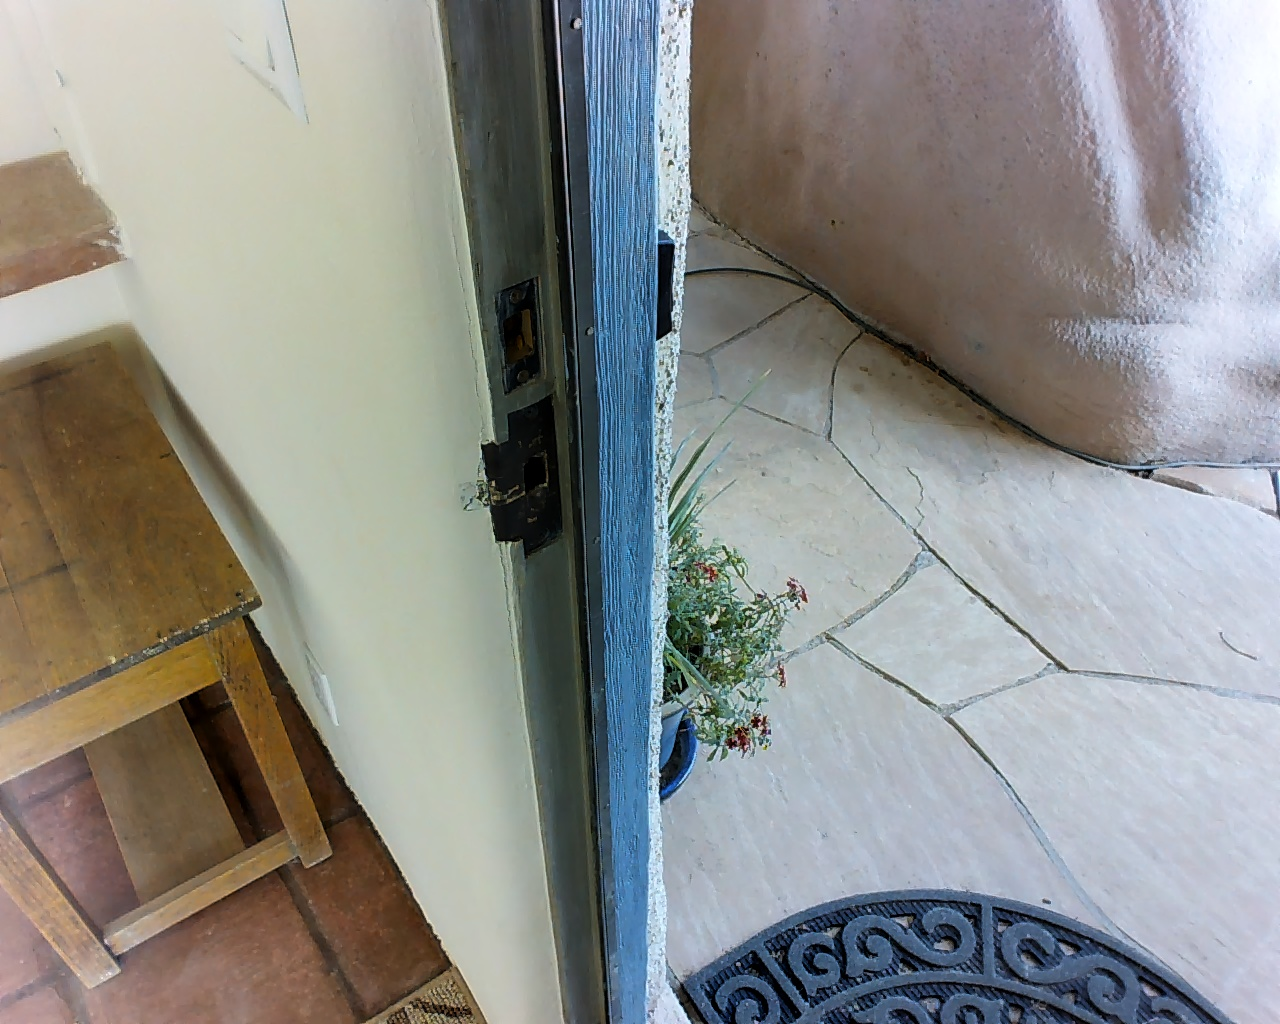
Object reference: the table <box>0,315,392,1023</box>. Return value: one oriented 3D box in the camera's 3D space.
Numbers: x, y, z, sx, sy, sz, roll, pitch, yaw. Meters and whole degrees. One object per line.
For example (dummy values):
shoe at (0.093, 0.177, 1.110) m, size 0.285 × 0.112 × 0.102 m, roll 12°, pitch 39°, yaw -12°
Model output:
table at (-0.770, 0.210, 1.510) m, size 0.490 × 0.600 × 0.680 m, roll -26°, pitch 49°, yaw -24°
